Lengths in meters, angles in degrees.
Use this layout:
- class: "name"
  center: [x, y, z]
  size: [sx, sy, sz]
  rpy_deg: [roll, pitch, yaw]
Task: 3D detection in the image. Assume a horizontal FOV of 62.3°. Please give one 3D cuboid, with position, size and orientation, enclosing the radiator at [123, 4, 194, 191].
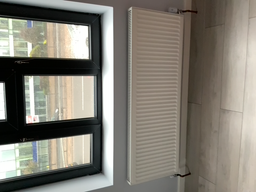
- class: "radiator"
  center: [0.250, 0.050, 1.770]
  size: [0.120, 0.560, 1.440]
  rpy_deg: [16, 106, 61]
